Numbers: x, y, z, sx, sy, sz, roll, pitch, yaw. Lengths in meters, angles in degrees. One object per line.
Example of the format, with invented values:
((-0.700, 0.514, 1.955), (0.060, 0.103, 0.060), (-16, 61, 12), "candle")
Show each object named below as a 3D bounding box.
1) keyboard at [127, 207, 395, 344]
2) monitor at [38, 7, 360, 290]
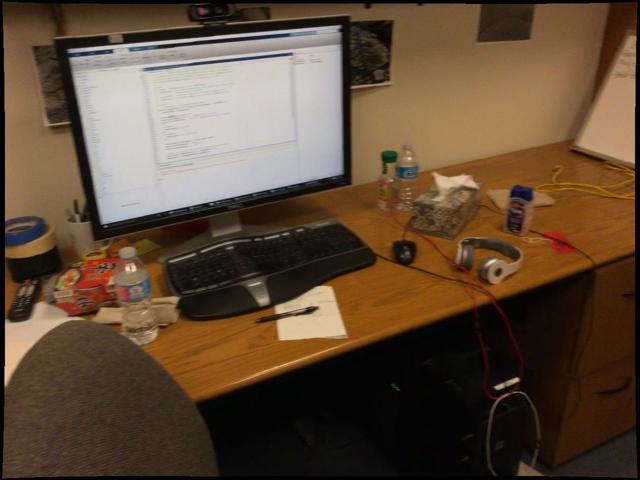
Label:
((-0.140, 0.060, 1.400), (0.579, 0.070, 0.280), (-15, 30, -23), "keyboard")
((-0.249, -0.251, 1.460), (0.719, 0.571, 0.160), (-15, 29, -23), "monitor")
